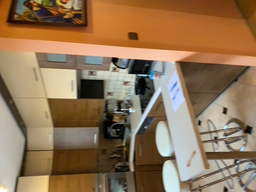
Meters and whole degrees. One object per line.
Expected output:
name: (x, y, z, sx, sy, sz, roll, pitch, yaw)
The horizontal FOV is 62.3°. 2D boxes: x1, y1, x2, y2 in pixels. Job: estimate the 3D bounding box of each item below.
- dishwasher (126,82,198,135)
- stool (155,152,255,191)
dishwasher: (0.480, 0.220, 3.310, 0.610, 0.870, 0.580, 112, 156, -56)
stool: (0.750, 0.780, 2.080, 0.350, 0.850, 0.330, 111, 157, -56)
